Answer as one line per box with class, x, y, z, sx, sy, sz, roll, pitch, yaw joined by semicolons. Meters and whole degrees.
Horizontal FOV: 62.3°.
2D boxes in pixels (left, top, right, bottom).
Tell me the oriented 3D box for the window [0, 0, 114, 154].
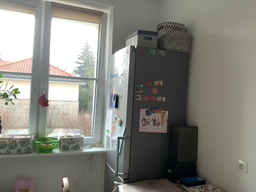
window;-0.950;-0.260;2.330;1.520;1.700;0.200;3;0;-22
